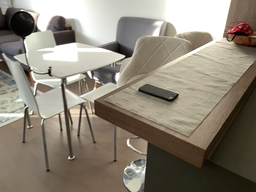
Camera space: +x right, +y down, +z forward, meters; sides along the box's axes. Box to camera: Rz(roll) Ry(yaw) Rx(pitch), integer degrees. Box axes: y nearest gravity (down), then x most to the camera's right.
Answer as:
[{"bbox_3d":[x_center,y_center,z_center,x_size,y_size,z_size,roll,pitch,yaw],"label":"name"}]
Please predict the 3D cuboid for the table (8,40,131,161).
[{"bbox_3d":[-0.530,-0.040,2.080,0.760,0.750,0.780,25,35,35],"label":"table"}]

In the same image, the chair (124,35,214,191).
[{"bbox_3d":[0.210,0.160,1.450,0.400,1.020,0.470,5,28,4],"label":"chair"}]

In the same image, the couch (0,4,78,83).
[{"bbox_3d":[-1.950,-1.060,3.780,2.000,0.880,0.970,22,33,33],"label":"couch"}]

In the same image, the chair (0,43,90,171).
[{"bbox_3d":[-0.670,0.060,1.770,0.500,0.860,0.420,-22,36,-39],"label":"chair"}]

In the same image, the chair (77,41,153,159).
[{"bbox_3d":[-0.120,0.020,1.890,0.470,0.870,0.380,22,32,32],"label":"chair"}]

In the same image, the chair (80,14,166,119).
[{"bbox_3d":[-0.060,-0.400,2.550,0.670,0.980,0.670,22,34,32],"label":"chair"}]
